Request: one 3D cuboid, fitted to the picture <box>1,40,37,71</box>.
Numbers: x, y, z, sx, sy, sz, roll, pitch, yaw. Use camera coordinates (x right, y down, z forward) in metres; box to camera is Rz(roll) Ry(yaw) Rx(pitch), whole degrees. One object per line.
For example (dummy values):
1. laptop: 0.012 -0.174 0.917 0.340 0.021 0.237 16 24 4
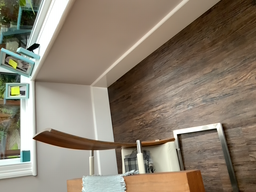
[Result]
1. picture: -0.990 -0.360 1.920 0.240 0.260 0.160 -23 69 53
